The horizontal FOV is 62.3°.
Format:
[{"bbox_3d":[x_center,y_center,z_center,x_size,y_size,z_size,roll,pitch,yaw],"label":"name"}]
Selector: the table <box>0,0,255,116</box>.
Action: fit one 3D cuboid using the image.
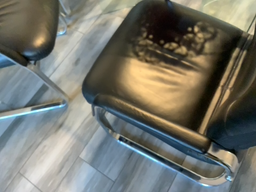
[{"bbox_3d":[0.170,-0.800,1.140,1.320,0.710,1.340,15,69,14],"label":"table"}]
